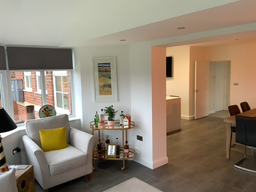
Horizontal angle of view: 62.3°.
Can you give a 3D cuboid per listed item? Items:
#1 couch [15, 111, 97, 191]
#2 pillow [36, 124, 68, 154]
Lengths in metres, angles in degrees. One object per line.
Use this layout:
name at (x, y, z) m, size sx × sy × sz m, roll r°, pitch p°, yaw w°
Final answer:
couch at (-1.150, 0.820, 3.360) m, size 0.880 × 0.920 × 0.990 m, roll -7°, pitch 9°, yaw -39°
pillow at (-1.240, 0.690, 3.470) m, size 0.410 × 0.360 × 0.240 m, roll -6°, pitch 9°, yaw -37°
